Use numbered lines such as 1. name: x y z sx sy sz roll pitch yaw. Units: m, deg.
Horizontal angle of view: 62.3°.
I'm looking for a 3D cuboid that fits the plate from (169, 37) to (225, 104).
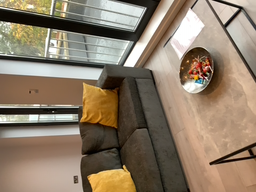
1. plate: 0.440 -0.180 1.440 0.370 0.040 0.310 -121 41 -48
